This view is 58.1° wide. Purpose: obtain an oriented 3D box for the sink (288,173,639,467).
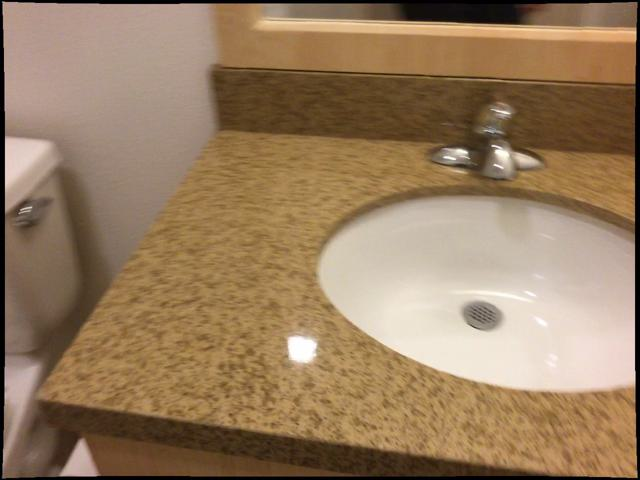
[{"bbox_3d":[0.219,0.080,0.740,0.449,0.180,0.300,4,37,11],"label":"sink"}]
